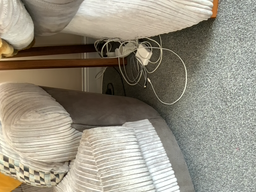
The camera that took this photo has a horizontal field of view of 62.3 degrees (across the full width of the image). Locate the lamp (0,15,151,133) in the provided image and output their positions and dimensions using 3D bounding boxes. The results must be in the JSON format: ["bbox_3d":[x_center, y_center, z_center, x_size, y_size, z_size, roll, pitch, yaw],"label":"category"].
[{"bbox_3d":[-0.770,-0.120,1.040,0.460,1.750,0.500,25,116,61],"label":"lamp"}]
